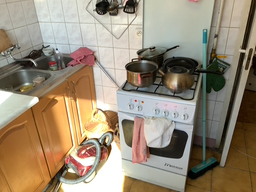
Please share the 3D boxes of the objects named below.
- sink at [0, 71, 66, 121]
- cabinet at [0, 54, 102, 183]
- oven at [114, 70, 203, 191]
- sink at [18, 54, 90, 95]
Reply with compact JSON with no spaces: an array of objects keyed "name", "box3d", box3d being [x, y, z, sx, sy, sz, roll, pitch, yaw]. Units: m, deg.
[{"name":"sink","box3d":[-0.790,-0.020,1.640,0.430,0.170,0.380,9,32,18]},{"name":"cabinet","box3d":[-0.700,0.140,1.960,0.540,0.790,0.810,9,32,18]},{"name":"oven","box3d":[0.270,0.260,1.750,0.520,0.720,0.600,10,32,20]},{"name":"sink","box3d":[-0.660,-0.220,1.960,0.440,0.170,0.430,9,32,18]}]
